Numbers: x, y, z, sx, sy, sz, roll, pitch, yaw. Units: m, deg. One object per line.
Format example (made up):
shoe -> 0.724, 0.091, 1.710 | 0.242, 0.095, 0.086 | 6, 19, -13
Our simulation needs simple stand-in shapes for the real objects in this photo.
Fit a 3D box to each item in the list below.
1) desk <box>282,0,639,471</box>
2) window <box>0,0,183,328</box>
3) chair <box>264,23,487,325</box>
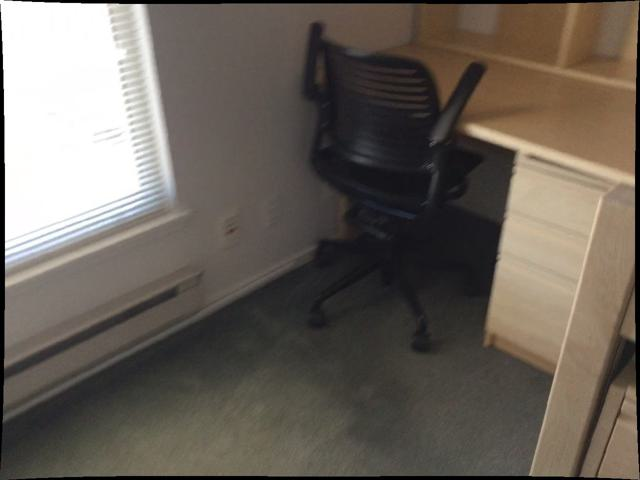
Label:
desk -> 0.669, -0.461, 1.790 | 1.339, 1.552, 0.889 | 28, 42, 37
window -> -0.859, -0.160, 1.450 | 0.200, 0.761, 0.969 | 28, 42, 37
chair -> 0.140, -0.230, 1.890 | 0.640, 0.791, 0.250 | 28, 41, 37
